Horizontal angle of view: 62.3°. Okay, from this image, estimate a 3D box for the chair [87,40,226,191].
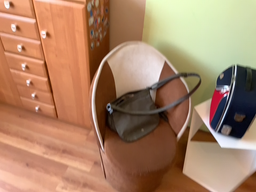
[{"bbox_3d":[0.070,0.160,1.430,0.600,0.760,0.760,0,41,-7],"label":"chair"}]
